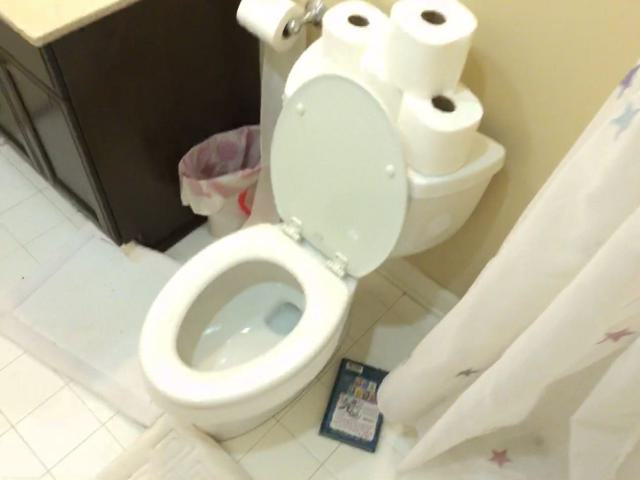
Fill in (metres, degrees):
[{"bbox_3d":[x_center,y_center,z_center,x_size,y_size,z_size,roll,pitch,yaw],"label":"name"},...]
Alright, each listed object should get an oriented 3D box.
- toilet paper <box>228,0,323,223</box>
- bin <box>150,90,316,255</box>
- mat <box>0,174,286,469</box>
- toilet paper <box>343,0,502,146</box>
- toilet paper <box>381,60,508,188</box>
[{"bbox_3d":[-0.120,-0.330,1.510,0.140,0.670,0.150,38,59,21],"label":"toilet paper"},{"bbox_3d":[-0.240,-0.200,1.650,0.310,0.210,0.320,38,59,21],"label":"bin"},{"bbox_3d":[-0.520,0.170,1.550,0.670,0.110,0.530,32,57,17],"label":"mat"},{"bbox_3d":[0.170,-0.320,1.020,0.190,0.190,0.150,38,59,21],"label":"toilet paper"},{"bbox_3d":[0.220,-0.210,1.040,0.140,0.120,0.150,38,59,21],"label":"toilet paper"}]
